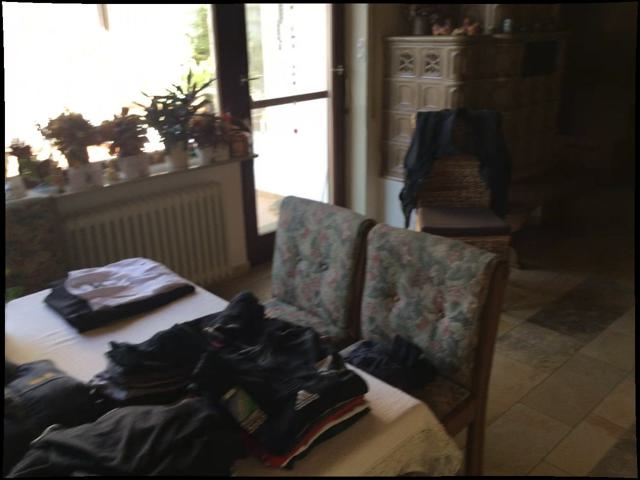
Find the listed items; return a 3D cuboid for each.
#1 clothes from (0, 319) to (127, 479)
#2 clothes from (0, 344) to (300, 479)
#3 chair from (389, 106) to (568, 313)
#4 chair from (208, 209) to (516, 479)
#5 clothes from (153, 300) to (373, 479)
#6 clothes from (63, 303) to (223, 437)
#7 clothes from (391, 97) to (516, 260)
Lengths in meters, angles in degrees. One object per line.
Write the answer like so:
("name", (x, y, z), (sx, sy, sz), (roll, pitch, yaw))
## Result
("clothes", (-0.689, 0.360, 1.250), (0.370, 0.120, 0.400), (-20, 28, -38))
("clothes", (-0.330, 0.410, 1.020), (0.440, 0.160, 0.390), (-20, 28, -38))
("chair", (0.819, -0.200, 3.300), (0.789, 0.971, 0.760), (-1, 22, 4))
("chair", (0.130, 0.450, 1.900), (0.630, 0.851, 0.680), (-20, 28, -38))
("clothes", (-0.120, 0.310, 1.240), (0.320, 0.160, 0.340), (-20, 28, -38))
("clothes", (-0.410, 0.290, 1.360), (0.290, 0.140, 0.190), (-20, 28, -37))
("clothes", (0.779, -0.380, 3.550), (0.639, 0.891, 0.440), (-1, 22, 3))
